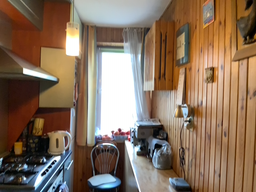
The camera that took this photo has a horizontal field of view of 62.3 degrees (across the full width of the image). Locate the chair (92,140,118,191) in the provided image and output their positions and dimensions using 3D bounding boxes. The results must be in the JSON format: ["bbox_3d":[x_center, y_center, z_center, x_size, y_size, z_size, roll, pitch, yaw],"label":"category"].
[{"bbox_3d":[-0.330,1.060,3.050,0.330,0.830,0.140,2,1,-3],"label":"chair"}]

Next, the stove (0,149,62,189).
[{"bbox_3d":[-0.900,0.550,1.690,0.560,0.050,0.720,2,1,-4],"label":"stove"}]

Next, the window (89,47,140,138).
[{"bbox_3d":[-0.210,-0.050,3.270,0.720,1.340,0.170,2,1,-6],"label":"window"}]

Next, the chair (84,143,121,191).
[{"bbox_3d":[-0.310,1.070,2.660,0.400,0.830,0.470,2,1,-3],"label":"chair"}]
